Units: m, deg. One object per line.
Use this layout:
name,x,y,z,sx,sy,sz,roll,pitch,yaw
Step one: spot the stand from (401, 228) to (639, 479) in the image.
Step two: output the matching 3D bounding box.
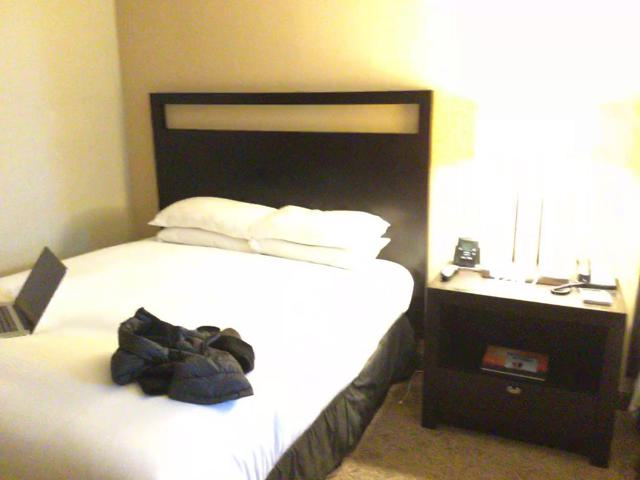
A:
stand,0.890,0.430,2.540,0.900,0.800,0.560,6,13,22

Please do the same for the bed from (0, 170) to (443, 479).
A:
bed,-0.580,0.360,2.390,1.670,1.040,2.170,6,13,22

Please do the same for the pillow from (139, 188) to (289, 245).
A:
pillow,-0.550,-0.140,3.050,0.670,0.190,0.390,6,13,22

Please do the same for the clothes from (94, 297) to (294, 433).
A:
clothes,-0.330,0.320,1.600,0.380,0.170,0.390,6,13,22

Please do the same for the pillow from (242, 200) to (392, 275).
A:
pillow,-0.010,-0.030,2.850,0.630,0.240,0.390,6,13,22
